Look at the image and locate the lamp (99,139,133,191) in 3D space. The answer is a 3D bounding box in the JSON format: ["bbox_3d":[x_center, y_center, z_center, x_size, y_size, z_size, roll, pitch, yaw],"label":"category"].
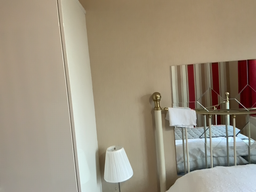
[{"bbox_3d":[-0.080,0.630,1.630,0.200,0.520,0.250,-5,6,2],"label":"lamp"}]
